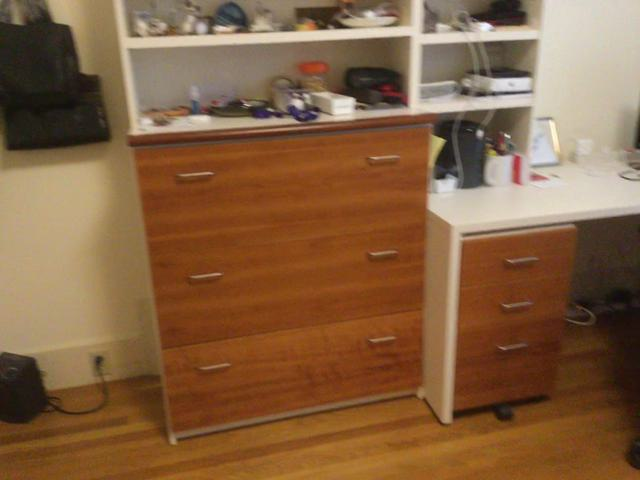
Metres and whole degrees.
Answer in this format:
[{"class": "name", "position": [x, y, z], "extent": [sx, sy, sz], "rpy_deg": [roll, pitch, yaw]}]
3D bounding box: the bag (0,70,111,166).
[{"class": "bag", "position": [-0.870, -0.390, 1.840], "extent": [0.350, 0.280, 0.120], "rpy_deg": [-4, 20, -14]}]

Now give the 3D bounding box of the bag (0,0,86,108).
[{"class": "bag", "position": [-0.890, -0.590, 1.710], "extent": [0.310, 0.370, 0.200], "rpy_deg": [-4, 20, -14]}]

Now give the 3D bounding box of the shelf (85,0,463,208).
[{"class": "shelf", "position": [-0.140, -0.830, 1.690], "extent": [1.000, 1.340, 0.490], "rpy_deg": [-4, 20, -14]}]
